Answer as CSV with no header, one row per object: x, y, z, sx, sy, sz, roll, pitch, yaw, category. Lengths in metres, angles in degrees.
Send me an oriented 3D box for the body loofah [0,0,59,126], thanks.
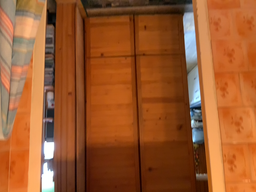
-0.410,-0.430,0.840,0.160,1.070,0.310,-2,170,2,body loofah
